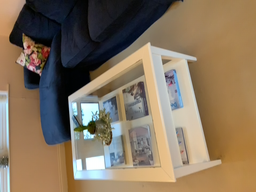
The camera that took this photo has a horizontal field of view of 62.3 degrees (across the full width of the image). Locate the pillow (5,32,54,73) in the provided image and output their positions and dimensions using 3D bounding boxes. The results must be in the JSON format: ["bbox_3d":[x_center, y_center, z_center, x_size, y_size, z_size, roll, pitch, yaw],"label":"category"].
[{"bbox_3d":[-1.300,-0.570,2.860,0.140,0.470,0.430,54,167,13],"label":"pillow"}]

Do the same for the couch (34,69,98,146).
[{"bbox_3d":[-0.830,0.180,2.730,0.730,0.480,0.770,-25,69,46],"label":"couch"}]

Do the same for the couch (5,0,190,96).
[{"bbox_3d":[-0.650,-0.870,2.350,2.550,0.780,0.990,-25,69,46],"label":"couch"}]

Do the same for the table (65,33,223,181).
[{"bbox_3d":[0.000,0.200,1.740,1.150,0.510,0.830,-25,69,46],"label":"table"}]
